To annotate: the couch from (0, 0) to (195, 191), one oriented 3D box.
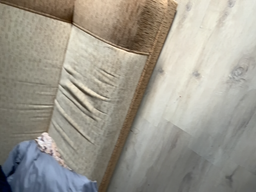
[{"bbox_3d":[-0.500,0.220,1.250,0.840,0.740,1.940,31,112,33],"label":"couch"}]
